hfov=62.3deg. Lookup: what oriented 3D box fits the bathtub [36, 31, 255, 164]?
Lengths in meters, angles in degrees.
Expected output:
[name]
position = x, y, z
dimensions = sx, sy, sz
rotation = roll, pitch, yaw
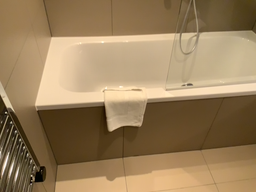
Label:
[bathtub]
position = 0.280, -0.040, 1.680
dimensions = 1.660, 0.600, 0.740
rotation = -4, 43, -7
